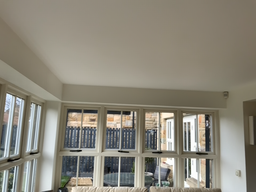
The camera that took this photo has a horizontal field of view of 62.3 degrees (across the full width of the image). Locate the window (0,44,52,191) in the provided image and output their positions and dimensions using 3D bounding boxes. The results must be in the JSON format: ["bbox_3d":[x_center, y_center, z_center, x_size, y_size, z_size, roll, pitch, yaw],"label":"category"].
[{"bbox_3d":[-1.130,0.550,2.000,0.250,1.640,2.000,3,-9,-8],"label":"window"}]
